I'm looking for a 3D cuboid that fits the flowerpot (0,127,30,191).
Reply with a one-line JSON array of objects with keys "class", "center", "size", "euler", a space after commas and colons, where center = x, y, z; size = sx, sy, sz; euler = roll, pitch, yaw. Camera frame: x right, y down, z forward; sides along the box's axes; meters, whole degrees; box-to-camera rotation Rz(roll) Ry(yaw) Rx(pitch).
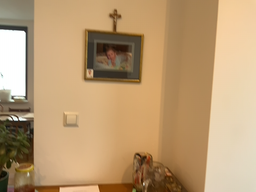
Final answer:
[{"class": "flowerpot", "center": [-0.600, 0.330, 0.990], "size": [0.210, 0.320, 0.210], "euler": [2, 6, -11]}]
